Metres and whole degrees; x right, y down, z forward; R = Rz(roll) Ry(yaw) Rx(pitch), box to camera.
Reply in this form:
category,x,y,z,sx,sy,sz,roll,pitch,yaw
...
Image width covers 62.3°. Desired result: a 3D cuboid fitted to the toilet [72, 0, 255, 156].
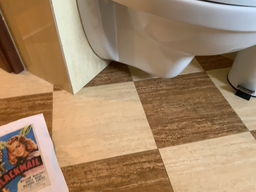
category,x,y,z,sx,sy,sz,roll,pitch,yaw
toilet,0.160,-0.190,0.660,0.530,0.430,0.350,27,51,22
